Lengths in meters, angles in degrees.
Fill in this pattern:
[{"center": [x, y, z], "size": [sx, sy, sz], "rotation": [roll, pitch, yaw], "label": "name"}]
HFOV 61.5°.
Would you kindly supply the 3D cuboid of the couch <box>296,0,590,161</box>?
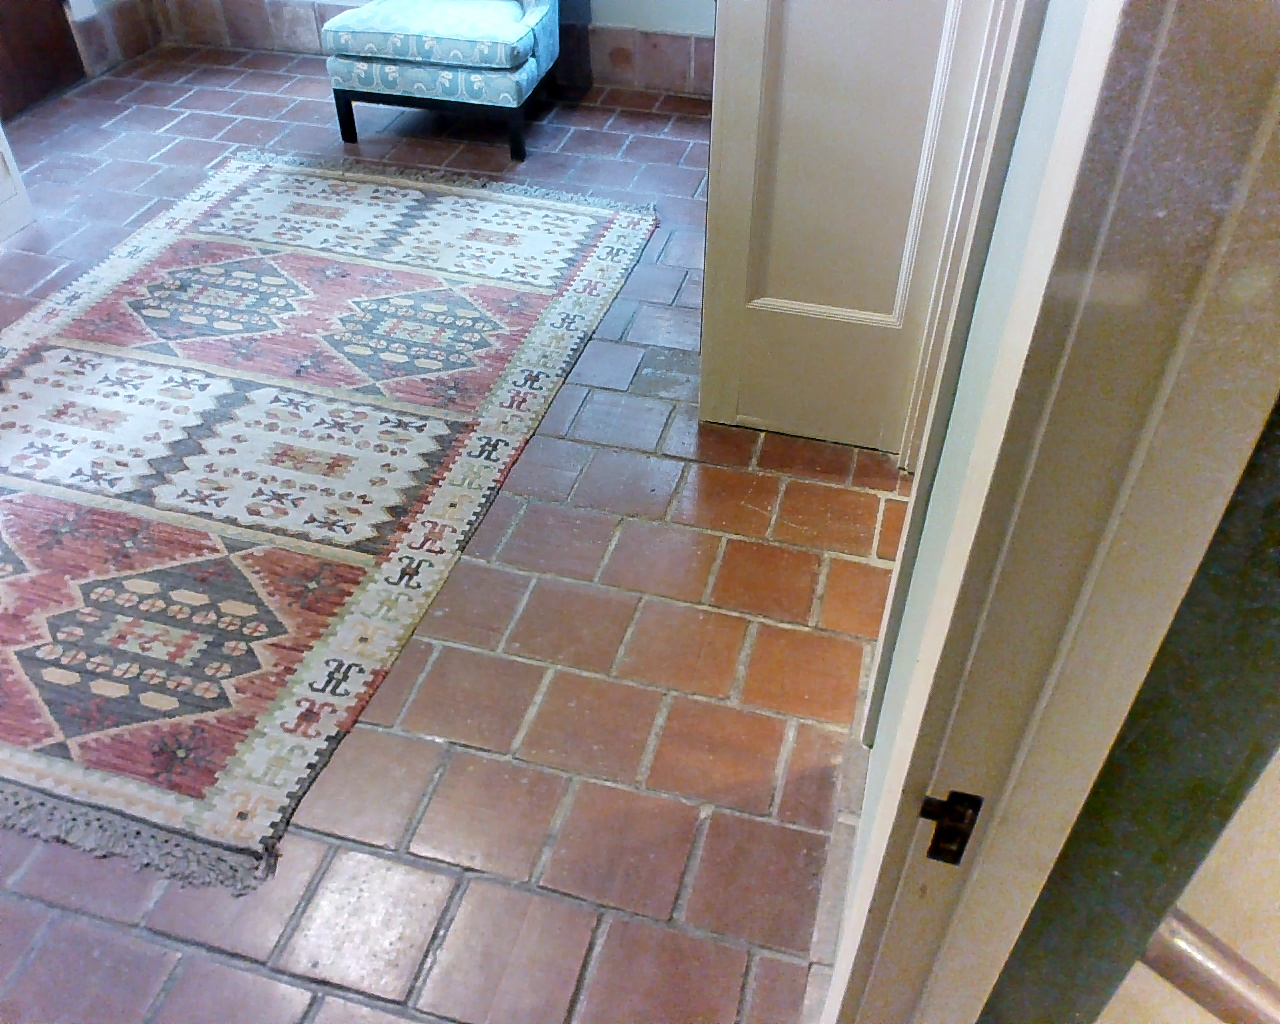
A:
[{"center": [-0.680, -1.810, 3.900], "size": [0.800, 0.710, 0.740], "rotation": [10, 43, 11], "label": "couch"}]
